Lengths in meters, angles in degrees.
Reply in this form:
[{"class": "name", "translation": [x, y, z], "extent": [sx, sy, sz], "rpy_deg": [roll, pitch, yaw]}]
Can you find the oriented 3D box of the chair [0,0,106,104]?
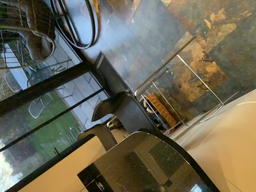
[{"class": "chair", "translation": [-1.200, -0.690, 2.240], "extent": [0.960, 1.460, 0.910], "rpy_deg": [54, 150, 4]}]
